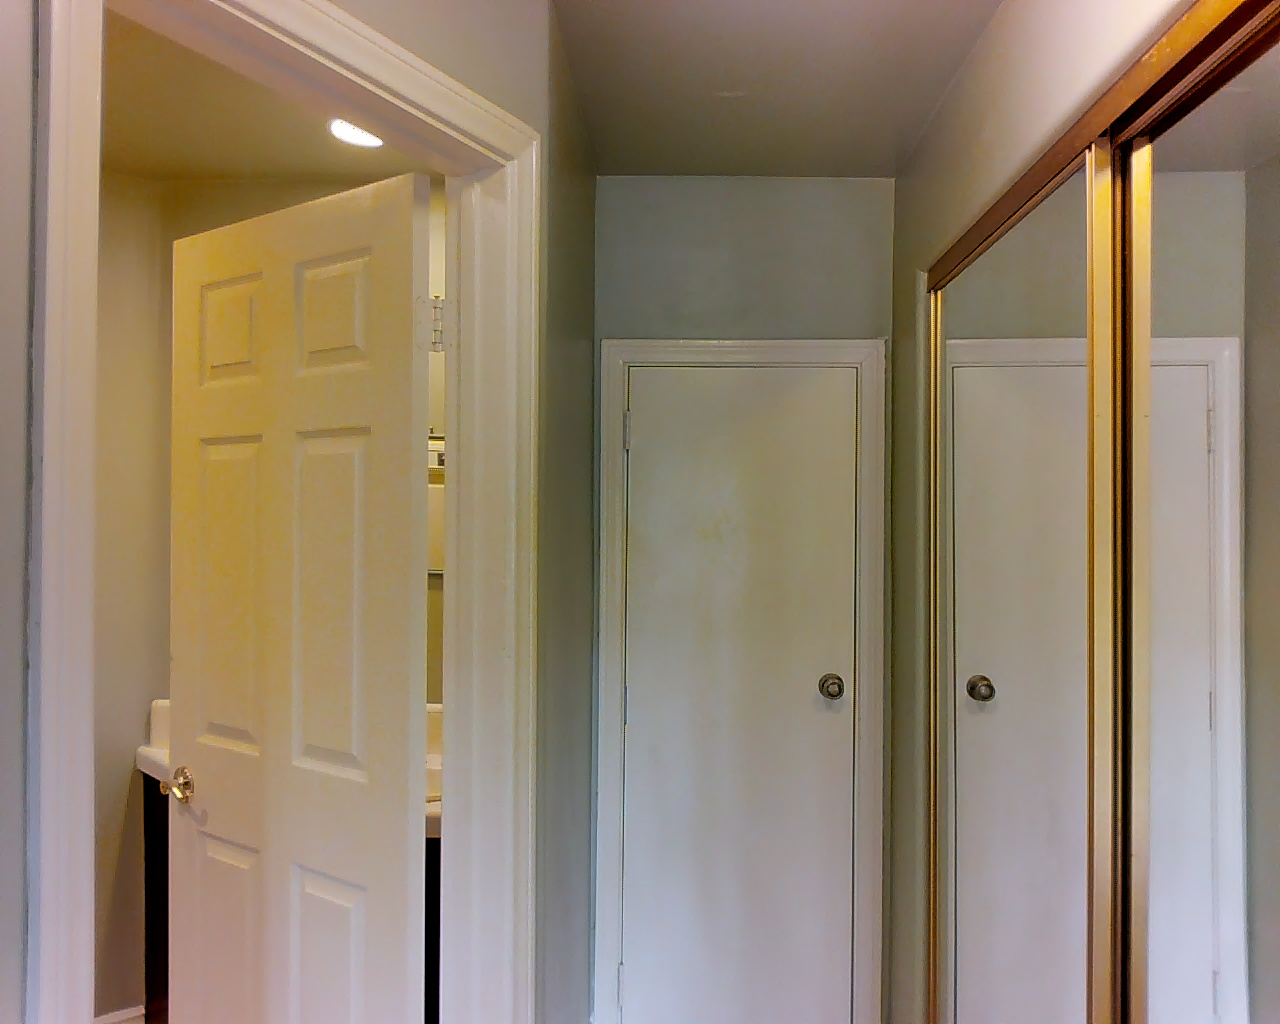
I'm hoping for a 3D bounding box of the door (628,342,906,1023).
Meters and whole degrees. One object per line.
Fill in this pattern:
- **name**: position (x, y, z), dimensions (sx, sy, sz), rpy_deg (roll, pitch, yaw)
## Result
- **door**: position (0.330, 0.510, 2.830), dimensions (0.720, 1.900, 0.070), rpy_deg (0, 0, 3)
